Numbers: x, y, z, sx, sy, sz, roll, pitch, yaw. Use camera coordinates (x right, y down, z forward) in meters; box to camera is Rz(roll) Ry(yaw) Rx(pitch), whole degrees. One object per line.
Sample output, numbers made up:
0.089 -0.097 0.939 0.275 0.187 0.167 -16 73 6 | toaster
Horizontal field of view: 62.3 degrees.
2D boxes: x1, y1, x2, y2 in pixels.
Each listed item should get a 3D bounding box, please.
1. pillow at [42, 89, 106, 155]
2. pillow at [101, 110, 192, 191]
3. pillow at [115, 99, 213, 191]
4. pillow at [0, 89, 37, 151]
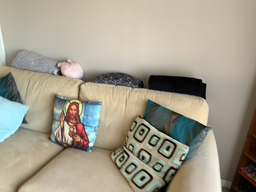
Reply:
-0.430 0.190 1.660 0.440 0.390 0.140 14 10 19 | pillow
0.070 0.580 1.450 0.340 0.790 0.490 -9 25 -28 | pillow
0.220 0.380 1.450 0.250 0.620 0.490 16 -1 -35 | pillow
-1.110 0.170 1.810 0.480 0.440 0.180 16 -9 14 | pillow
